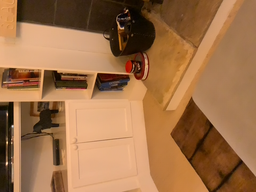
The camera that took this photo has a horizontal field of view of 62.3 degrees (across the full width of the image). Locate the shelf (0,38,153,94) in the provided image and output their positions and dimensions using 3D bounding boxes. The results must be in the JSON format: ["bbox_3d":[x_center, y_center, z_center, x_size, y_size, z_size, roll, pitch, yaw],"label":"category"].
[{"bbox_3d":[-0.720,-0.260,1.930,0.460,1.940,0.240,60,140,42],"label":"shelf"}]
